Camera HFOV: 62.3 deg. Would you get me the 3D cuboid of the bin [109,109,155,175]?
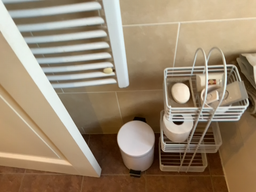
[{"bbox_3d":[0.030,0.230,1.040,0.190,0.240,0.240,0,54,5],"label":"bin"}]
